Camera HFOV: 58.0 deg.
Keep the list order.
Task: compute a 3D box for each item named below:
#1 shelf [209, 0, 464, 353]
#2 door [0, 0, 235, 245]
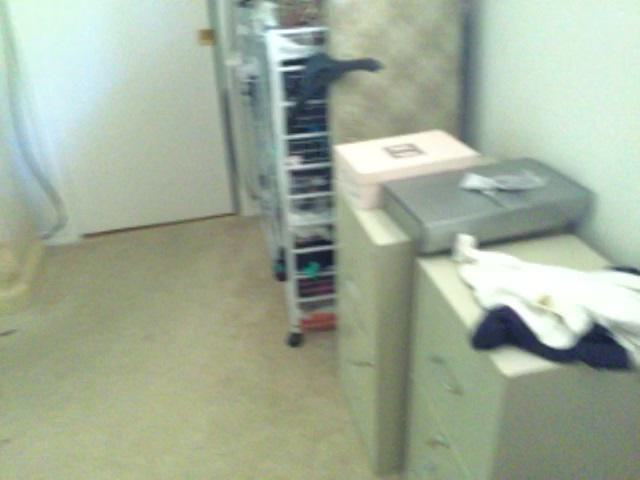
[{"bbox_3d":[-0.040,-0.450,2.330,0.630,1.200,1.230,-7,28,-12],"label":"shelf"},{"bbox_3d":[-0.890,-0.920,2.520,0.860,1.910,0.190,-7,28,-12],"label":"door"}]
